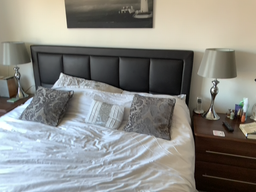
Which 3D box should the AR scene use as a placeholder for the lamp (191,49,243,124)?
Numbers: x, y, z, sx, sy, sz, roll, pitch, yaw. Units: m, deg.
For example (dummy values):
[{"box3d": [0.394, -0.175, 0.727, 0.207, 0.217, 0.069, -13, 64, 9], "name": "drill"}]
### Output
[{"box3d": [0.840, -0.110, 2.080, 0.340, 0.650, 0.340, 5, 19, 13], "name": "lamp"}]
